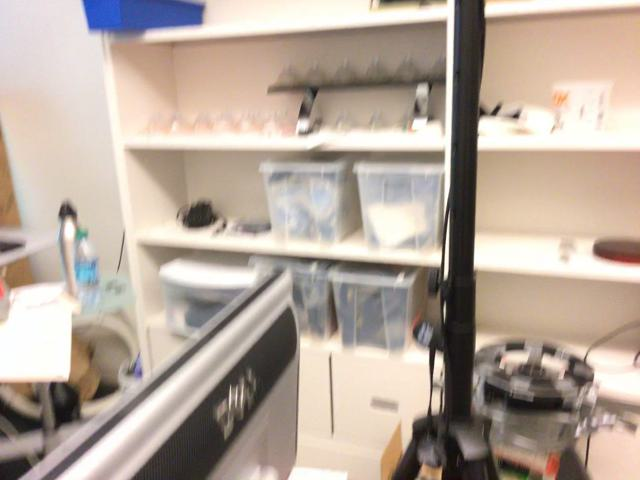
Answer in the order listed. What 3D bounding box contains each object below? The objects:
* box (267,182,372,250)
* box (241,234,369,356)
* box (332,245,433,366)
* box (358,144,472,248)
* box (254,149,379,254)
[{"bbox_3d":[0.010,-0.090,2.010,0.230,0.170,0.360,0,13,23],"label":"box"},{"bbox_3d":[-0.040,0.180,2.100,0.320,0.340,0.350,0,13,23],"label":"box"},{"bbox_3d":[0.230,0.210,2.000,0.240,0.310,0.350,0,13,23],"label":"box"},{"bbox_3d":[0.320,-0.150,1.870,0.280,0.280,0.340,0,13,23],"label":"box"},{"bbox_3d":[0.000,-0.140,2.000,0.300,0.300,0.340,0,13,23],"label":"box"}]
